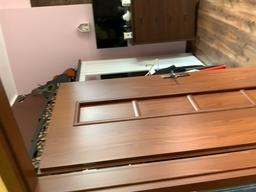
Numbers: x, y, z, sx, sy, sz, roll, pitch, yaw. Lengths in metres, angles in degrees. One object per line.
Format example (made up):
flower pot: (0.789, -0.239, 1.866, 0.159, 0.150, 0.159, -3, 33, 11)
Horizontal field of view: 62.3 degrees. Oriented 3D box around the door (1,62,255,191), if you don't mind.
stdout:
door: (0.470, 0.090, 1.430, 0.880, 2.170, 0.170, -104, 10, -55)
